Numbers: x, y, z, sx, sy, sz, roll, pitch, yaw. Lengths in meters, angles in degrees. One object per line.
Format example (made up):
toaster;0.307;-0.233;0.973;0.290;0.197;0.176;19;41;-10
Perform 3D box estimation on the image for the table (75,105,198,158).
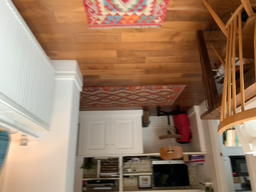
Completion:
table;0.140;0.690;4.030;2.120;0.860;0.480;-2;161;-1
